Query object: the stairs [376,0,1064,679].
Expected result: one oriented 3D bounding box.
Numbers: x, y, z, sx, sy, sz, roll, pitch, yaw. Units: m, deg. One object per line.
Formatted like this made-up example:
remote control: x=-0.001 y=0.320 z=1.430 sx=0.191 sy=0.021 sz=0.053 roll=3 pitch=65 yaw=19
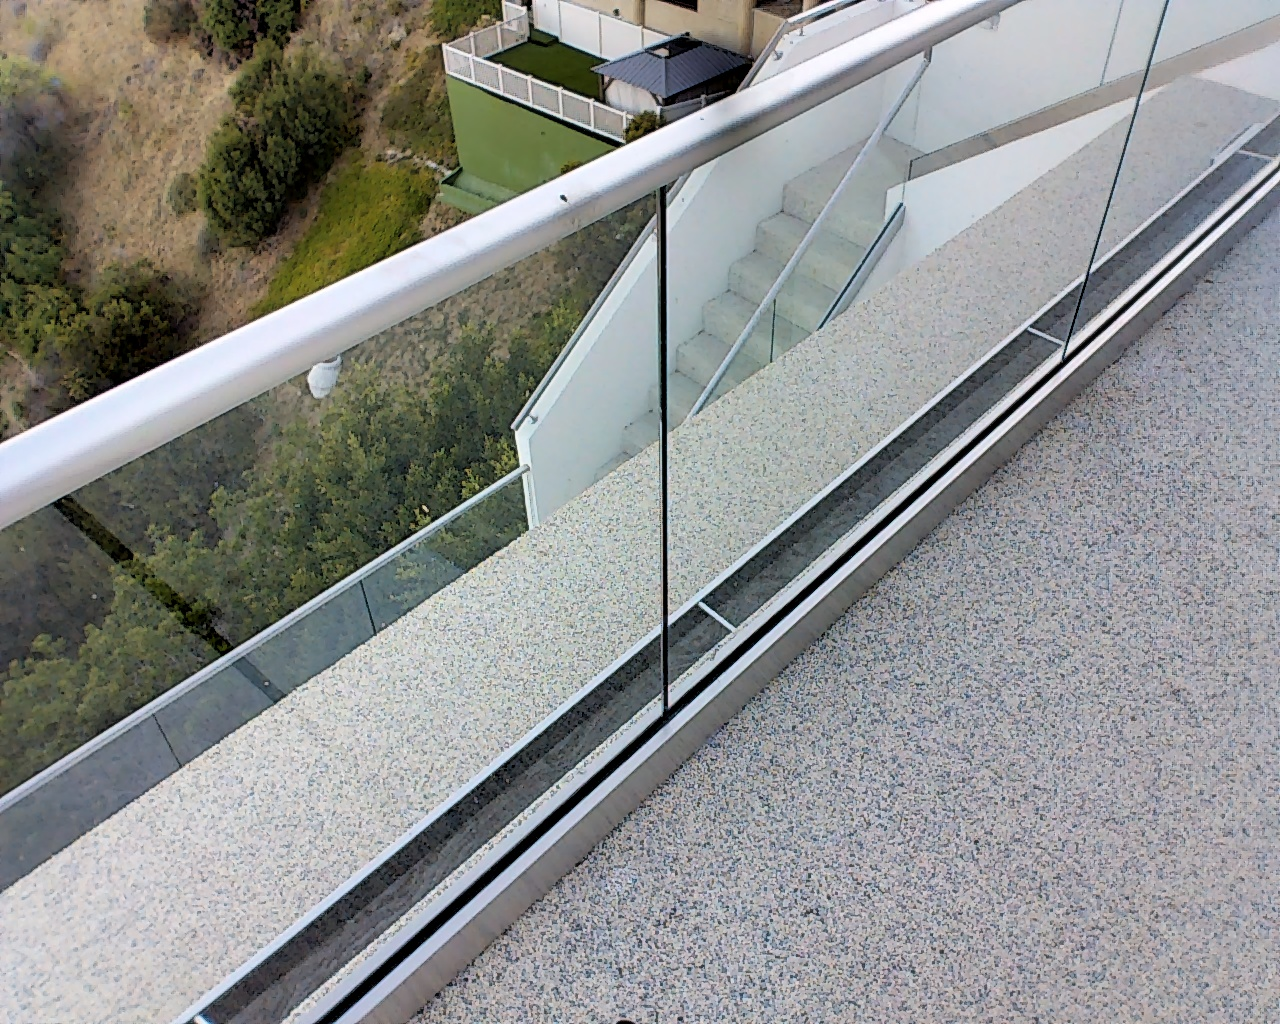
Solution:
stairs: x=0.670 y=-1.670 z=6.910 sx=3.790 sy=4.060 sz=1.530 roll=-32 pitch=51 yaw=-29
